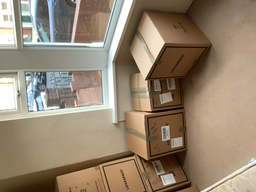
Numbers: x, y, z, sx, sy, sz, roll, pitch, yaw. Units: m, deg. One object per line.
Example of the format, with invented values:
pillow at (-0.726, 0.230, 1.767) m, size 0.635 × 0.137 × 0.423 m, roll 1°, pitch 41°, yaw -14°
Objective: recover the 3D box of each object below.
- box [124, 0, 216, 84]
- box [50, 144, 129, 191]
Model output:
box at (0.370, -0.520, 2.130) m, size 0.520 × 0.540 × 0.590 m, roll 67°, pitch 148°, yaw 31°
box at (-0.440, 0.910, 2.270) m, size 0.520 × 0.650 × 0.450 m, roll 67°, pitch 148°, yaw 32°
